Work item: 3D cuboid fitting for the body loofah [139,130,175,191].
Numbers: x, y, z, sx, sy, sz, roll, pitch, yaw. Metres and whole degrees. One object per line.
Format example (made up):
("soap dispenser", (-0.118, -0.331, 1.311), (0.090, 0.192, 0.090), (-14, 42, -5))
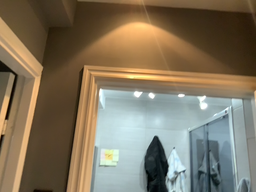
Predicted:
("body loofah", (0.360, 0.990, 2.630), (0.410, 1.090, 0.200), (4, -17, 1))

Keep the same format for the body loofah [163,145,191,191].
("body loofah", (0.600, 1.120, 2.630), (0.310, 0.980, 0.130), (5, -17, -2))
